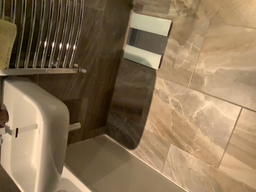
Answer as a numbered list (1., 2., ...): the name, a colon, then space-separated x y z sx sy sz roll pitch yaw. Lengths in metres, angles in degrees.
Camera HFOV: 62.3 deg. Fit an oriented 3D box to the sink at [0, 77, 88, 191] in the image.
1. sink: -0.470 0.230 1.090 0.420 0.210 0.540 26 112 34
